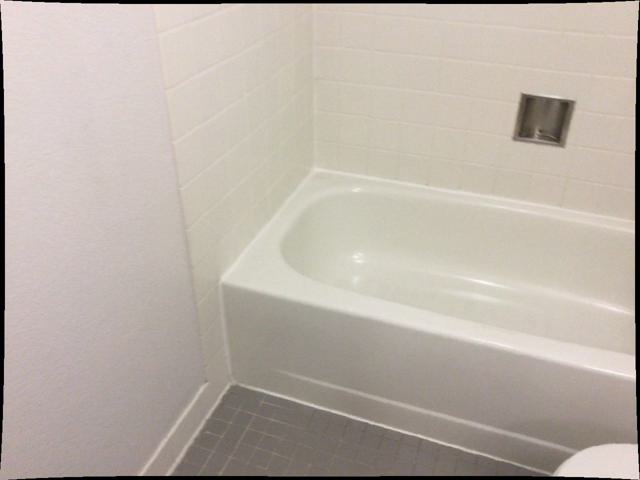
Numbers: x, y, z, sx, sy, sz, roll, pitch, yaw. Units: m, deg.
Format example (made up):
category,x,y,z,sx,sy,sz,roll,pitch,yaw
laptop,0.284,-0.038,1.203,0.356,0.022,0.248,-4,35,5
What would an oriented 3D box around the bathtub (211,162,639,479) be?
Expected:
category,x,y,z,sx,sy,sz,roll,pitch,yaw
bathtub,0.539,0.220,1.710,1.478,0.400,0.770,11,35,15
